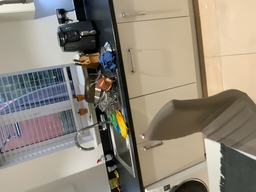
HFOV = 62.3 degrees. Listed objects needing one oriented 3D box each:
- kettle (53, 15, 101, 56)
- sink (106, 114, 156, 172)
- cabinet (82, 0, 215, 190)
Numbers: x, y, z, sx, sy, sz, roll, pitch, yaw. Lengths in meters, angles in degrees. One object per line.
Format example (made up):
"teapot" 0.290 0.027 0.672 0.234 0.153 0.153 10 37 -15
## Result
"kettle" -0.480 -0.550 1.960 0.330 0.330 0.270 7 109 65
"sink" 0.010 0.440 2.130 0.510 0.250 0.380 12 113 64
"cabinet" 0.210 -0.200 2.140 0.650 0.890 1.820 12 113 64
